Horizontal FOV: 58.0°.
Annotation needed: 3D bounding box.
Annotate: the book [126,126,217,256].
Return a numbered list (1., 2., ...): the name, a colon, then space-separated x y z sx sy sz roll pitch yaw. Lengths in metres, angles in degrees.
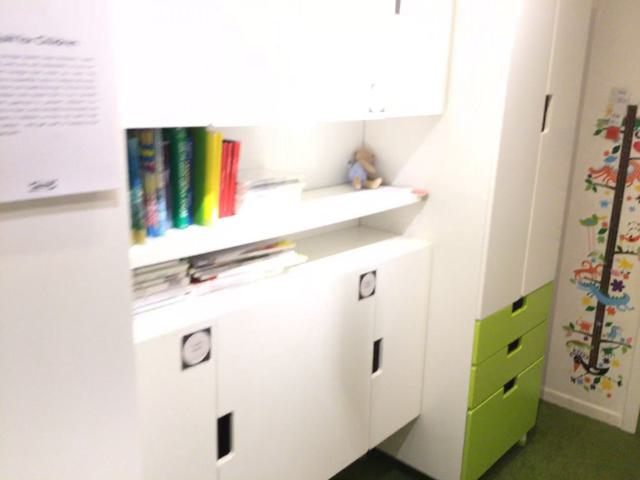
1. book: -0.310 -0.110 1.210 0.110 0.240 0.160 -13 21 -42

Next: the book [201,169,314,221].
1. book: -0.170 -0.130 1.590 0.250 0.090 0.180 -13 21 -42

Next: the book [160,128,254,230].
1. book: -0.280 -0.160 1.450 0.180 0.220 0.140 -13 21 -42

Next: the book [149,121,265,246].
1. book: -0.260 -0.140 1.320 0.140 0.240 0.250 -13 21 -42
